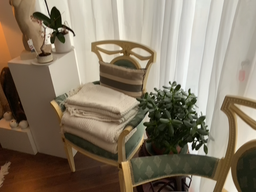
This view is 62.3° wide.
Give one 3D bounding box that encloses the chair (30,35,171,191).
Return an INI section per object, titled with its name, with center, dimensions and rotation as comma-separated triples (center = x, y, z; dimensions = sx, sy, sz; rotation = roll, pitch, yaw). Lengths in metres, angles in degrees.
[chair]
center = -0.150, 0.150, 1.600
dimensions = 0.690, 1.010, 0.570
rotation = 16, 34, 28
